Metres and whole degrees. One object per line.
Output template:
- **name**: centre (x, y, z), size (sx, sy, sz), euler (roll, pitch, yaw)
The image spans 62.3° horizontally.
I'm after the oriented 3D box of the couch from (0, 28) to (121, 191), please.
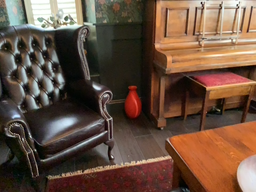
- **couch**: centre (-0.610, 0.040, 1.620), size (0.750, 0.960, 0.810), euler (-18, 29, -34)
